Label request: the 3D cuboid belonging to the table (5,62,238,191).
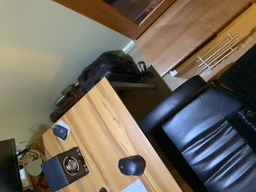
[{"bbox_3d":[0.070,0.580,1.290,0.790,0.730,1.290,-41,75,22],"label":"table"}]
